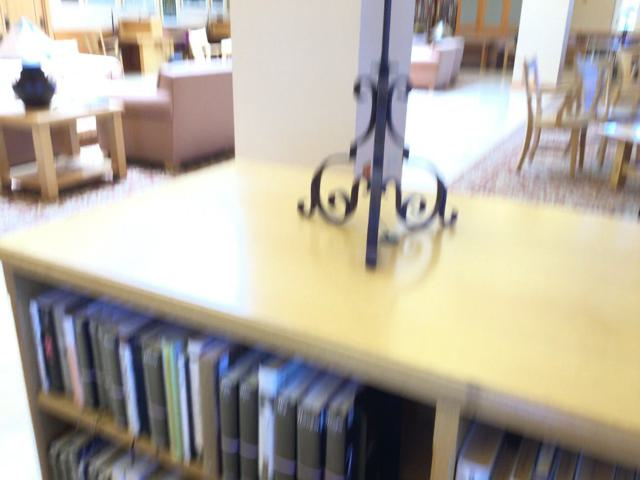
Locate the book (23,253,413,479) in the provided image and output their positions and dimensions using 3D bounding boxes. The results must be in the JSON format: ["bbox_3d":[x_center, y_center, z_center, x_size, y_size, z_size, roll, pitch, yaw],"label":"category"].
[{"bbox_3d":[-0.220,0.270,1.100,0.740,0.300,0.190,13,22,26],"label":"book"}]
